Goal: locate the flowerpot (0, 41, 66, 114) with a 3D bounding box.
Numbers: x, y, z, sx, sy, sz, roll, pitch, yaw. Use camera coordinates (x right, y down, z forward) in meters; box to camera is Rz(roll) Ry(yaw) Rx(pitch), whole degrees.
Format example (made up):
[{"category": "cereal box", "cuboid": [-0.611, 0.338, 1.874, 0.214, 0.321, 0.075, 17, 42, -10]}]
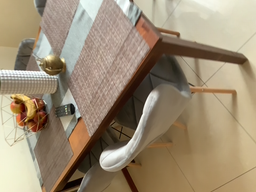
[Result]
[{"category": "flowerpot", "cuboid": [-0.540, -0.080, 0.960, 0.210, 0.400, 0.240, -46, 60, 38]}]
